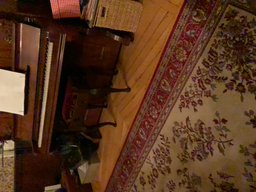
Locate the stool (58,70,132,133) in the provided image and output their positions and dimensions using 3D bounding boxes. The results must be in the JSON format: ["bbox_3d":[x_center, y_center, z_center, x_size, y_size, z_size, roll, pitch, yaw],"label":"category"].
[{"bbox_3d":[-0.350,0.060,2.130,0.290,0.570,0.540,61,139,41],"label":"stool"}]
